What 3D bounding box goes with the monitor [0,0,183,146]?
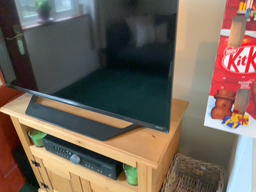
[{"bbox_3d":[-0.260,-0.170,0.860,0.930,0.560,0.060,14,36,26],"label":"monitor"}]
